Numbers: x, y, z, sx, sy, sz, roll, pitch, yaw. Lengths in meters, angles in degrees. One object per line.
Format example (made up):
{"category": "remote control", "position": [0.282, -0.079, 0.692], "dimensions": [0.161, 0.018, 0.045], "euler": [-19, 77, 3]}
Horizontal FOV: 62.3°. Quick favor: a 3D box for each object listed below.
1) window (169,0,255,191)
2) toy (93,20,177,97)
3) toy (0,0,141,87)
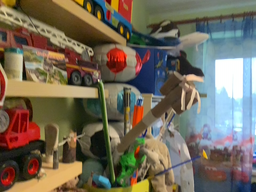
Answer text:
{"category": "window", "position": [1.410, 0.010, 2.000], "dimensions": [1.960, 1.880, 0.290], "euler": [1, -1, 25]}
{"category": "toy", "position": [0.060, -0.220, 1.480], "dimensions": [0.490, 0.440, 0.330], "euler": [1, -1, 25]}
{"category": "toy", "position": [-0.230, -0.180, 0.890], "dimensions": [0.280, 0.230, 0.930], "euler": [1, -1, 22]}
